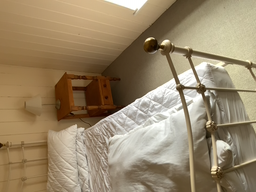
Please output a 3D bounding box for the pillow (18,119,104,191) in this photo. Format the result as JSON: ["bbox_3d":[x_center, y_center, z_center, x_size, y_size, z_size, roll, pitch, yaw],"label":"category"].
[{"bbox_3d":[-0.640,0.690,2.140,0.320,0.470,0.710,-32,27,49],"label":"pillow"}]

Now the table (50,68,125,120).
[{"bbox_3d":[-0.500,0.000,2.580,0.460,0.710,0.450,-33,63,49],"label":"table"}]
